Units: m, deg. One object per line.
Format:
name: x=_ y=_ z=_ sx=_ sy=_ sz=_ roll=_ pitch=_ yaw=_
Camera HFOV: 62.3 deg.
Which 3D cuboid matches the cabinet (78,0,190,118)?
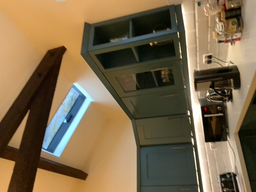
cabinet: x=0.200 y=-0.220 z=2.280 sx=1.450 sy=0.810 sz=0.350 roll=58 pitch=-151 yaw=-58
